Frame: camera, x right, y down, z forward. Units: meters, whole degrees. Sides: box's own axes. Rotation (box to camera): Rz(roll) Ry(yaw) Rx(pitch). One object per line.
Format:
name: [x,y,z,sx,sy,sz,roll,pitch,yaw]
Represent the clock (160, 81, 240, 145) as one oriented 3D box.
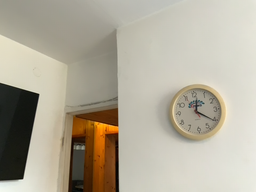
clock: [0.360,0.100,1.110,0.360,0.290,0.070,-9,-18,25]
